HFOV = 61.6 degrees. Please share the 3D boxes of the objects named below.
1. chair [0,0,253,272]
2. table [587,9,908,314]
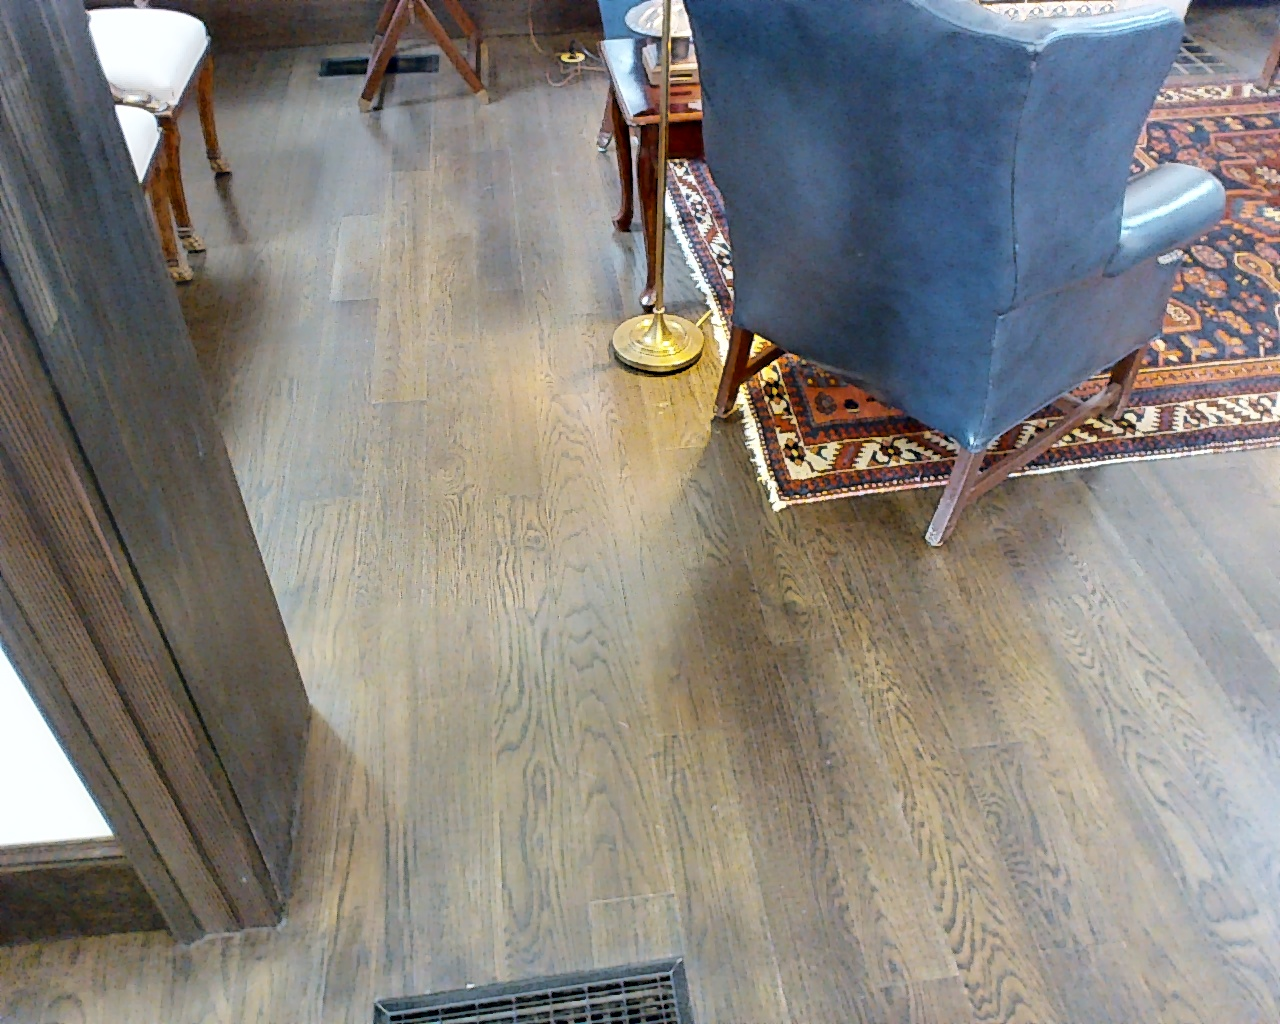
[{"bbox_3d":[-1.550,-1.220,2.900,0.690,0.870,0.670,-5,43,-5],"label":"chair"},{"bbox_3d":[0.240,-0.940,2.850,0.680,0.530,0.590,-6,43,-6],"label":"table"}]
